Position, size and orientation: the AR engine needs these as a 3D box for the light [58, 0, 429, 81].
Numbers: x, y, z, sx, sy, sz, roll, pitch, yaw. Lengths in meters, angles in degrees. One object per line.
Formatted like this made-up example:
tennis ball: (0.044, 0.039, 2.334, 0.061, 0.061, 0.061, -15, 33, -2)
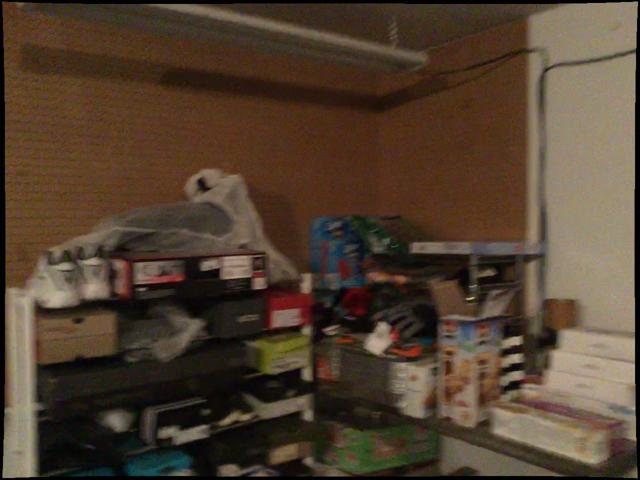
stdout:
light: (-0.130, -0.591, 1.690, 1.149, 0.080, 0.190, -4, 5, -39)
